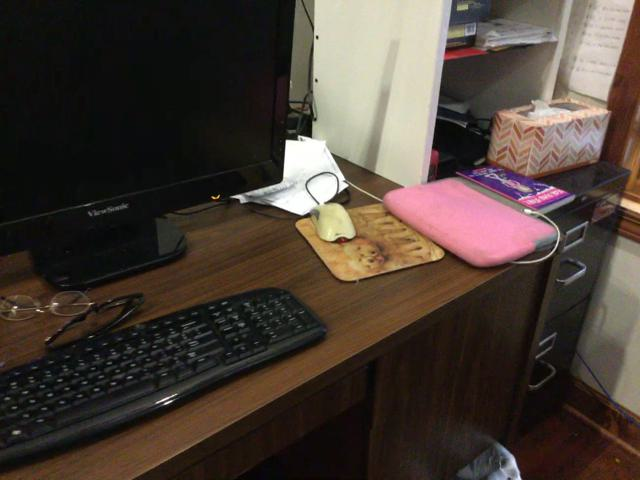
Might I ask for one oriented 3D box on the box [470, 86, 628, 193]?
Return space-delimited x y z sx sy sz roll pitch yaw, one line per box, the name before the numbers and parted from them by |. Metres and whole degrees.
box | 0.500 -0.230 1.270 0.270 0.140 0.190 -21 35 -35
